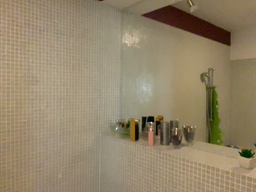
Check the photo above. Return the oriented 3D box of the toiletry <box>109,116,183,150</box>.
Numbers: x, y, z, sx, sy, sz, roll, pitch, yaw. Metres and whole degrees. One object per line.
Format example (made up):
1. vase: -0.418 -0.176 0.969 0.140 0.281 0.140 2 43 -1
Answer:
1. toiletry: 0.120 0.250 1.570 0.500 0.140 0.250 3 3 43
